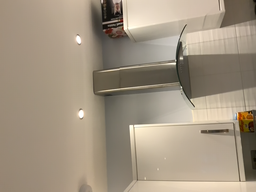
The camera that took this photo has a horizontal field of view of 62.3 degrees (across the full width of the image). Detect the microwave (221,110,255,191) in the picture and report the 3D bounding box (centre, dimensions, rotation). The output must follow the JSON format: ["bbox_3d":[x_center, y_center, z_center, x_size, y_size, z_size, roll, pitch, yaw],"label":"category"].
[{"bbox_3d":[0.970,0.390,1.490,0.600,0.440,0.580,14,-108,-75],"label":"microwave"}]

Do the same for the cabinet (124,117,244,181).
[{"bbox_3d":[0.420,0.410,1.720,0.330,0.820,0.430,19,-113,-74],"label":"cabinet"}]
